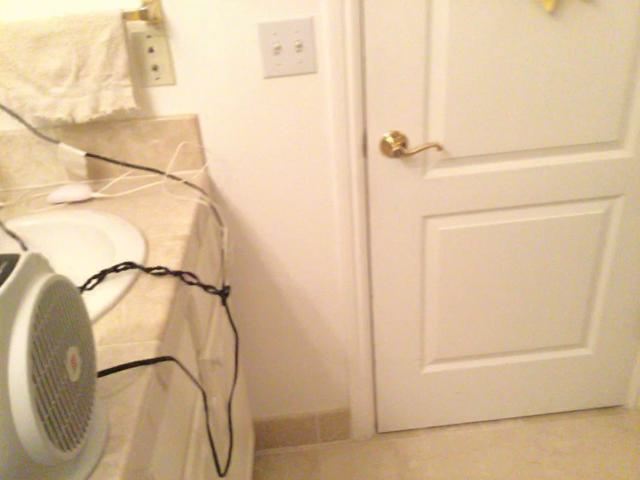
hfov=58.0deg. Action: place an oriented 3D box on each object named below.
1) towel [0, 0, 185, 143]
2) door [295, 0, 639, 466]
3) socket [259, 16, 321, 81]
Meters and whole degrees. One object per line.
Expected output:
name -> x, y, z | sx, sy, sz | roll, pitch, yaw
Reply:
towel -> -0.490, -0.340, 1.150 | 0.380, 0.220, 0.090 | -10, 27, -1
door -> 0.460, -0.130, 1.340 | 0.810, 1.570, 0.100 | -13, 28, 3
socket -> -0.060, -0.390, 1.180 | 0.110, 0.110, 0.020 | -9, 27, 1
